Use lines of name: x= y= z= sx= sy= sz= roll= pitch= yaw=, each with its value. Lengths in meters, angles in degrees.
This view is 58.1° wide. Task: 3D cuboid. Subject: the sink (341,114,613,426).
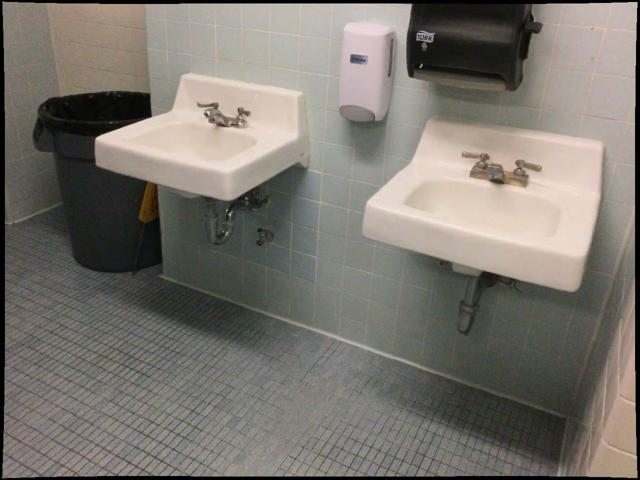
sink: x=0.429 y=0.040 z=1.620 sx=0.569 sy=0.611 sz=0.480 roll=14 pitch=29 yaw=22

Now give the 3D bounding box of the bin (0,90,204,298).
bin: x=-0.958 y=-0.241 z=2.600 sx=0.589 sy=0.691 sz=0.560 roll=14 pitch=29 yaw=22

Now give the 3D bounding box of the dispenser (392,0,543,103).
dispenser: x=0.389 y=-0.571 z=1.500 sx=0.319 sy=0.341 sz=0.220 roll=14 pitch=29 yaw=22

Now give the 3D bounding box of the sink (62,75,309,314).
sink: x=-0.419 y=-0.190 z=1.960 sx=0.599 sy=0.581 sz=0.480 roll=14 pitch=29 yaw=22
